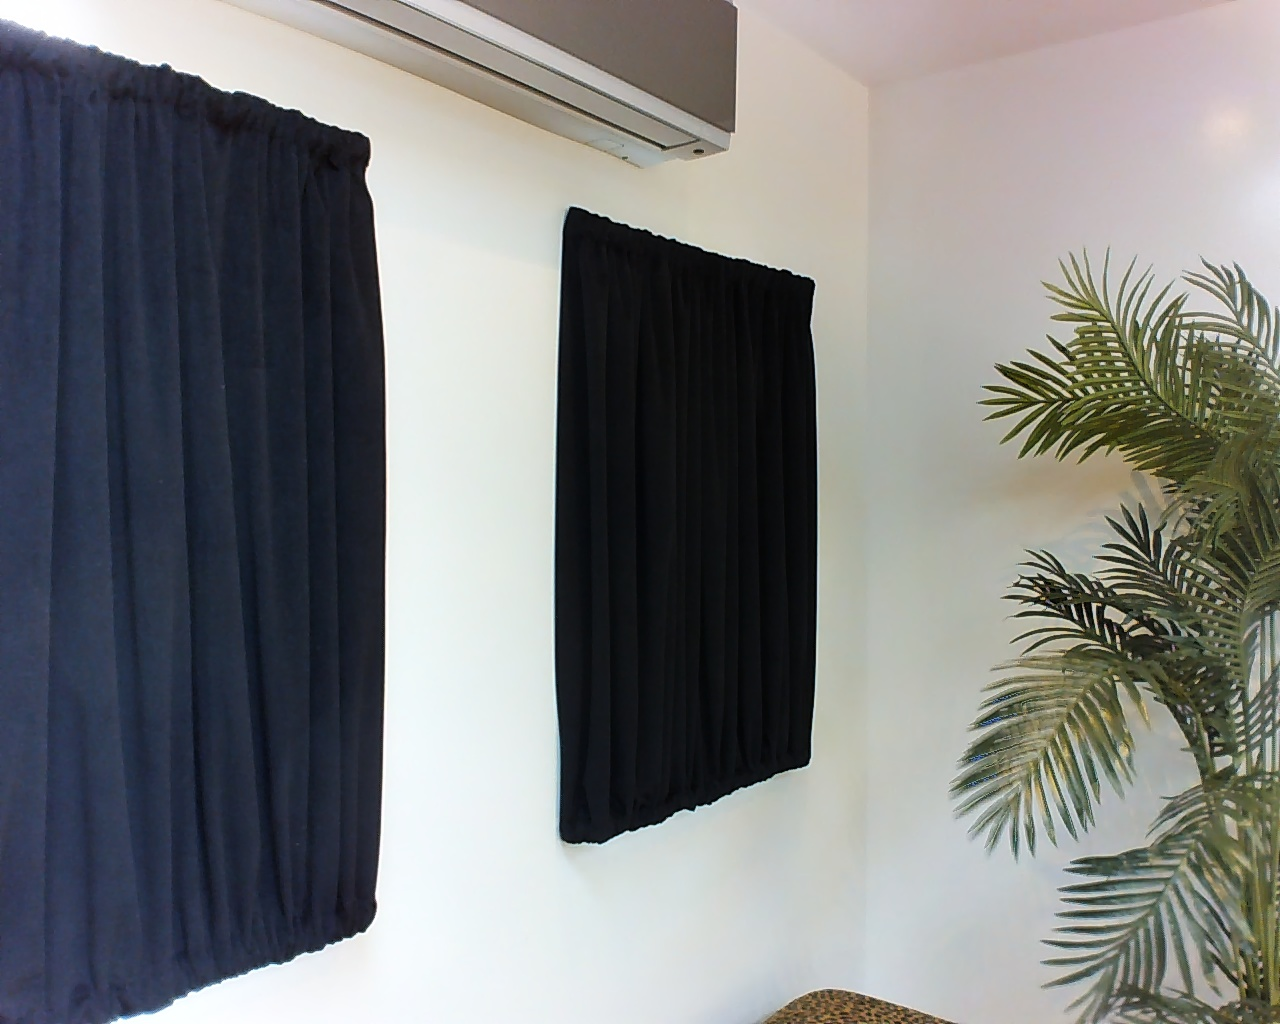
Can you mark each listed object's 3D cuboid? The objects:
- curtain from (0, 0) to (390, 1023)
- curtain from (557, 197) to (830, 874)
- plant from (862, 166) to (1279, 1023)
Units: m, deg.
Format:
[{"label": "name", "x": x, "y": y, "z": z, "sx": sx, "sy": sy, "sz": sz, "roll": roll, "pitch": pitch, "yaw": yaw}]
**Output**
[{"label": "curtain", "x": -0.640, "y": 0.040, "z": 1.210, "sx": 0.100, "sy": 1.161, "sz": 0.810, "roll": 1, "pitch": 1, "yaw": 38}, {"label": "curtain", "x": 0.150, "y": 0.040, "z": 2.230, "sx": 0.100, "sy": 1.171, "sz": 0.850, "roll": 1, "pitch": 1, "yaw": 37}, {"label": "plant", "x": 1.129, "y": 0.500, "z": 1.910, "sx": 1.150, "sy": 1.971, "sz": 0.930, "roll": 1, "pitch": 1, "yaw": 37}]
